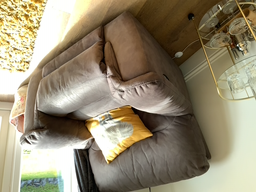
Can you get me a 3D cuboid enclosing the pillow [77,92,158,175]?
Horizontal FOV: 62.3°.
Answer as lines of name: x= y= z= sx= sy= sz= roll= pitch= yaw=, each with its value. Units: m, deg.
pillow: x=-0.110 y=0.250 z=1.660 sx=0.600 sy=0.460 sz=0.190 roll=13 pitch=-173 yaw=38
